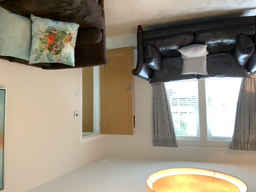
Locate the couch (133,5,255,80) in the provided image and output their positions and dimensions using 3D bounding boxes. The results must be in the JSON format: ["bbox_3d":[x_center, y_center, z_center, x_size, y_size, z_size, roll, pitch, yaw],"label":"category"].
[{"bbox_3d":[1.120,-0.800,3.630,1.890,0.860,0.900,-2,176,18],"label":"couch"}]

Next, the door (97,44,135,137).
[{"bbox_3d":[-0.280,-0.120,4.870,0.860,2.080,0.130,-1,176,16],"label":"door"}]

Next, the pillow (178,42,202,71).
[{"bbox_3d":[1.050,-0.640,3.580,0.340,0.340,0.560,-2,176,17],"label":"pillow"}]
